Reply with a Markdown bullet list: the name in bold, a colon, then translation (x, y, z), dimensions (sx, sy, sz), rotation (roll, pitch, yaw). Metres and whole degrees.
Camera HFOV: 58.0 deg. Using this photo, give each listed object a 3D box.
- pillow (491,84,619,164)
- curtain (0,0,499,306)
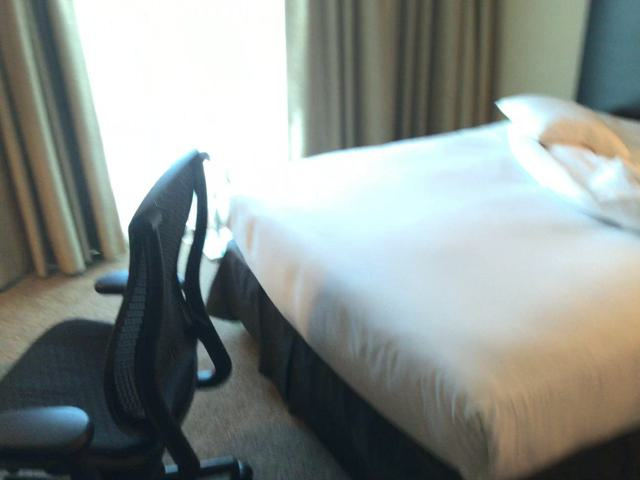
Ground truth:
- **pillow**: translation (0.930, -0.500, 2.390), dimensions (0.370, 0.180, 0.710), rotation (2, 23, 12)
- **curtain**: translation (-0.570, -0.940, 2.860), dimensions (3.400, 2.030, 0.390), rotation (-13, 25, -24)
